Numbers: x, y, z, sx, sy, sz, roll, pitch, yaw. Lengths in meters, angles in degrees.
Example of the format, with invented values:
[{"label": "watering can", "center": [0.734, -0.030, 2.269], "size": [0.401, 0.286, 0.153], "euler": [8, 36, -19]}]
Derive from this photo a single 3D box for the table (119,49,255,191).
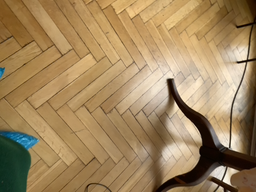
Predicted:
[{"label": "table", "center": [0.560, 0.230, 1.190], "size": [0.800, 0.690, 0.790], "euler": [-24, 103, -26]}]
